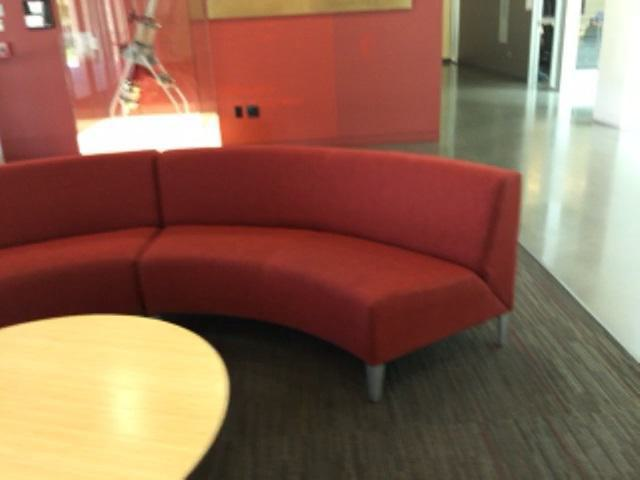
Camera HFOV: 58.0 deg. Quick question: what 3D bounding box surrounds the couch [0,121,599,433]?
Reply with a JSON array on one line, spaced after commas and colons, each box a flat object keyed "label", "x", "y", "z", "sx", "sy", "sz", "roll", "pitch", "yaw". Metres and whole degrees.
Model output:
[{"label": "couch", "x": -0.690, "y": 0.070, "z": 2.530, "sx": 3.120, "sy": 0.790, "sz": 1.300, "roll": -3, "pitch": 20, "yaw": 2}]

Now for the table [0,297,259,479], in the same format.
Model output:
[{"label": "table", "x": -0.670, "y": 0.650, "z": 1.510, "sx": 0.990, "sy": 0.490, "sz": 1.030, "roll": -6, "pitch": 21, "yaw": -7}]
